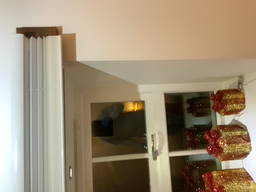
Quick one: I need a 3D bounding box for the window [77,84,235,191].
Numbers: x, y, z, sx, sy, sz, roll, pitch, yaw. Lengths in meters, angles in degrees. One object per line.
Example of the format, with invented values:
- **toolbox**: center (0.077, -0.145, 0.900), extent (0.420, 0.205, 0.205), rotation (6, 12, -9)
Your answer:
- **window**: center (0.190, 0.360, 1.330), extent (0.050, 0.970, 0.860), rotation (146, 122, -79)
